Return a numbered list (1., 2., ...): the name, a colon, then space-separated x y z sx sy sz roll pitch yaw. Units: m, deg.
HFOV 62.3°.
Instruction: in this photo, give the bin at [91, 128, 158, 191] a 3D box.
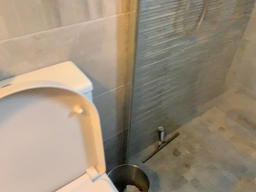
1. bin: -0.020 0.370 1.130 0.280 0.240 0.180 -24 48 -28
